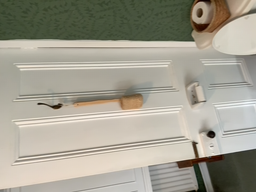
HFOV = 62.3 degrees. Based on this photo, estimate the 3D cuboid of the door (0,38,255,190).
[{"bbox_3d":[0.210,0.020,1.470,0.210,2.030,0.830,126,137,-66],"label":"door"}]
